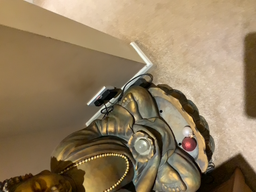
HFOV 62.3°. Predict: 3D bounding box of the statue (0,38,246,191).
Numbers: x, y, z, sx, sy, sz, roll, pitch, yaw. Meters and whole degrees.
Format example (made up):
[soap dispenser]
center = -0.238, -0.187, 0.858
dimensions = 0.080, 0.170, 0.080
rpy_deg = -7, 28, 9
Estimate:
[statue]
center = 0.000, 0.260, 0.810
dimensions = 0.610, 0.810, 0.480
rpy_deg = -46, 70, 23
